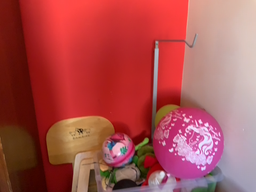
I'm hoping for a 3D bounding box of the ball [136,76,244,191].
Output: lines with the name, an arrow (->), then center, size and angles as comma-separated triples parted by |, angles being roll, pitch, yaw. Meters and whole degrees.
ball -> 0.260, 0.150, 1.090 | 0.310, 0.390, 0.460 | -5, 20, -14
